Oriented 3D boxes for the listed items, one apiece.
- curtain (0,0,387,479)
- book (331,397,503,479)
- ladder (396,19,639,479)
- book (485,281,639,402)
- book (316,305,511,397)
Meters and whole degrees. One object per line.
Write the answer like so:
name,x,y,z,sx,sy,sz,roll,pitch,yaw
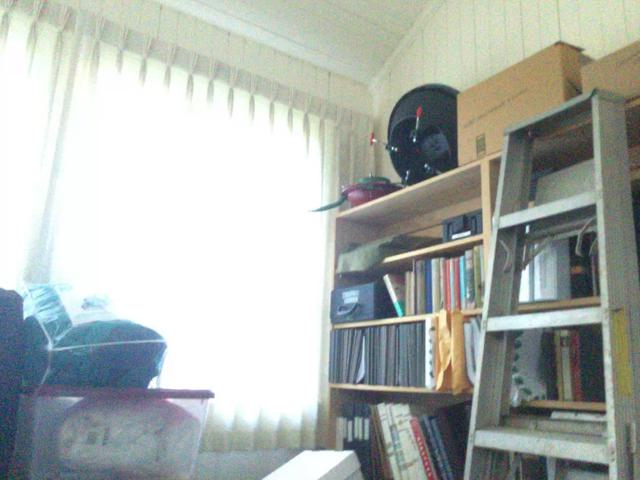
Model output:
curtain,-0.920,-0.100,1.970,2.830,1.760,0.190,11,-18,-32
book,0.330,0.760,2.160,0.230,0.320,0.670,11,-18,-32
ladder,0.540,0.730,1.360,0.410,2.390,0.640,17,-20,-31
book,0.880,0.280,1.530,0.310,0.290,0.840,11,-18,-32
book,0.300,0.440,2.190,0.170,0.280,0.870,11,-18,-32
